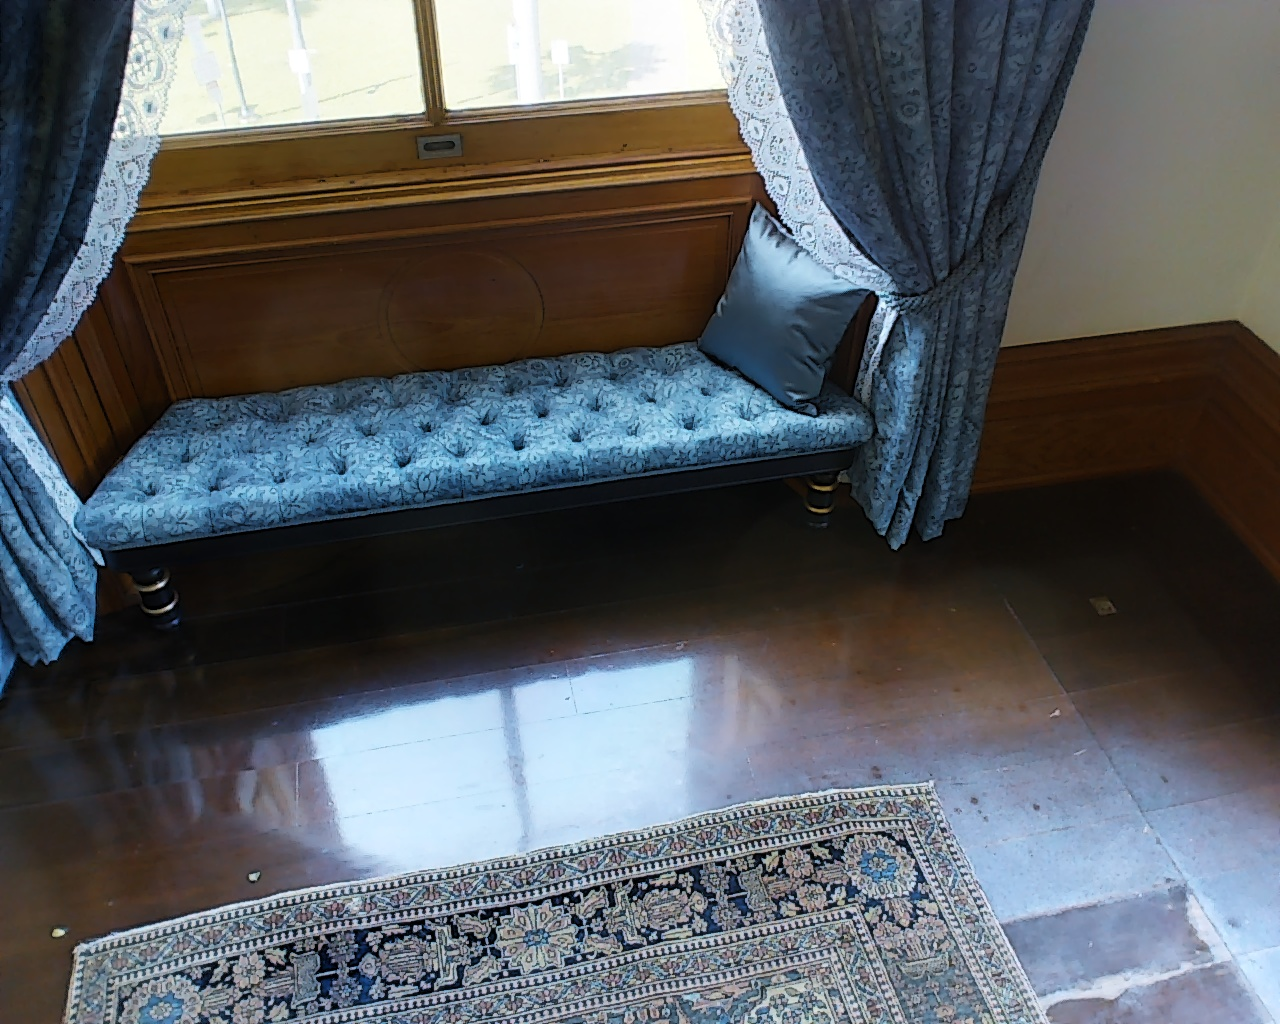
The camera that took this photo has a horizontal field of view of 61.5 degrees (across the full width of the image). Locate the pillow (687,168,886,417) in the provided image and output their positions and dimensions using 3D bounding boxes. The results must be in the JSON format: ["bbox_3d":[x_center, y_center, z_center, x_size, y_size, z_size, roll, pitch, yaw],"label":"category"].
[{"bbox_3d":[0.270,-0.420,2.090,0.160,0.290,0.340,-30,72,-16],"label":"pillow"}]

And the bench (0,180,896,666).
[{"bbox_3d":[-0.400,-0.190,2.090,1.630,0.600,0.430,-8,44,-9],"label":"bench"}]
